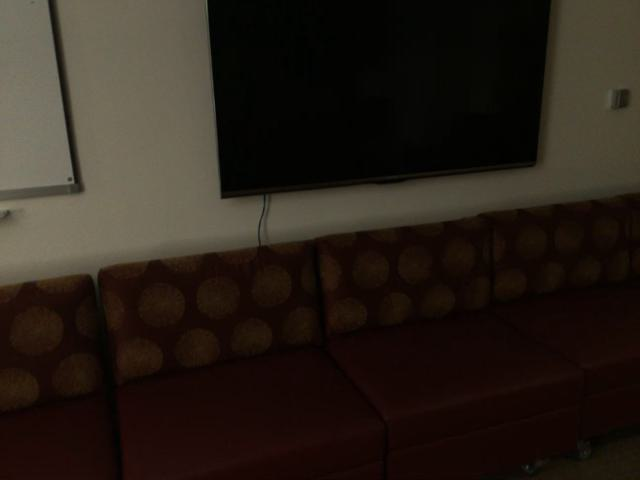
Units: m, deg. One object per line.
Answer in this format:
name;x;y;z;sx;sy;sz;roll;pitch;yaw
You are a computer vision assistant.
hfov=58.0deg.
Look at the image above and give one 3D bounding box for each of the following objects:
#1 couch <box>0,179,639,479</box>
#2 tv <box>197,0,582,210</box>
couch;0.370;0.400;1.930;3.500;0.900;0.750;-7;15;-15
tv;0.290;-0.610;2.090;1.380;0.840;0.180;-7;15;-15
